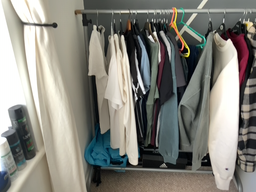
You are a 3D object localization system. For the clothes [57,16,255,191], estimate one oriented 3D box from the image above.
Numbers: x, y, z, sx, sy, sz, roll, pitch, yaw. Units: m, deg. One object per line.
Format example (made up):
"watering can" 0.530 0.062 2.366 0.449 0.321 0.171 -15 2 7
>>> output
"clothes" 0.250 0.110 1.410 1.070 1.140 0.620 1 25 3
